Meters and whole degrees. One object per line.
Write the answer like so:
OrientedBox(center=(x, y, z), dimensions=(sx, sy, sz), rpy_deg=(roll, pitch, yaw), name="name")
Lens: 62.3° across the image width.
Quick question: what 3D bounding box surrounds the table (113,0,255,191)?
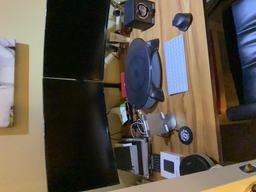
OrientedBox(center=(0.430, -0.140, 1.430), dimensions=(0.790, 0.730, 1.290), rpy_deg=(-16, 75, 59), name="table")
